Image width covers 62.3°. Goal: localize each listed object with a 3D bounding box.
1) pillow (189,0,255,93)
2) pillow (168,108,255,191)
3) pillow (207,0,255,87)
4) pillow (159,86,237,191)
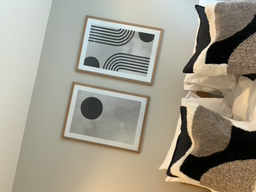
[{"bbox_3d":[0.600,-0.320,1.330,0.120,0.300,0.550,-2,-77,-87],"label":"pillow"},{"bbox_3d":[0.470,0.330,1.150,0.240,0.390,0.440,-21,-58,-87],"label":"pillow"},{"bbox_3d":[0.650,-0.300,1.150,0.130,0.370,0.460,-170,88,-66],"label":"pillow"},{"bbox_3d":[0.520,0.370,1.680,0.410,0.370,0.800,66,-145,-85],"label":"pillow"}]
